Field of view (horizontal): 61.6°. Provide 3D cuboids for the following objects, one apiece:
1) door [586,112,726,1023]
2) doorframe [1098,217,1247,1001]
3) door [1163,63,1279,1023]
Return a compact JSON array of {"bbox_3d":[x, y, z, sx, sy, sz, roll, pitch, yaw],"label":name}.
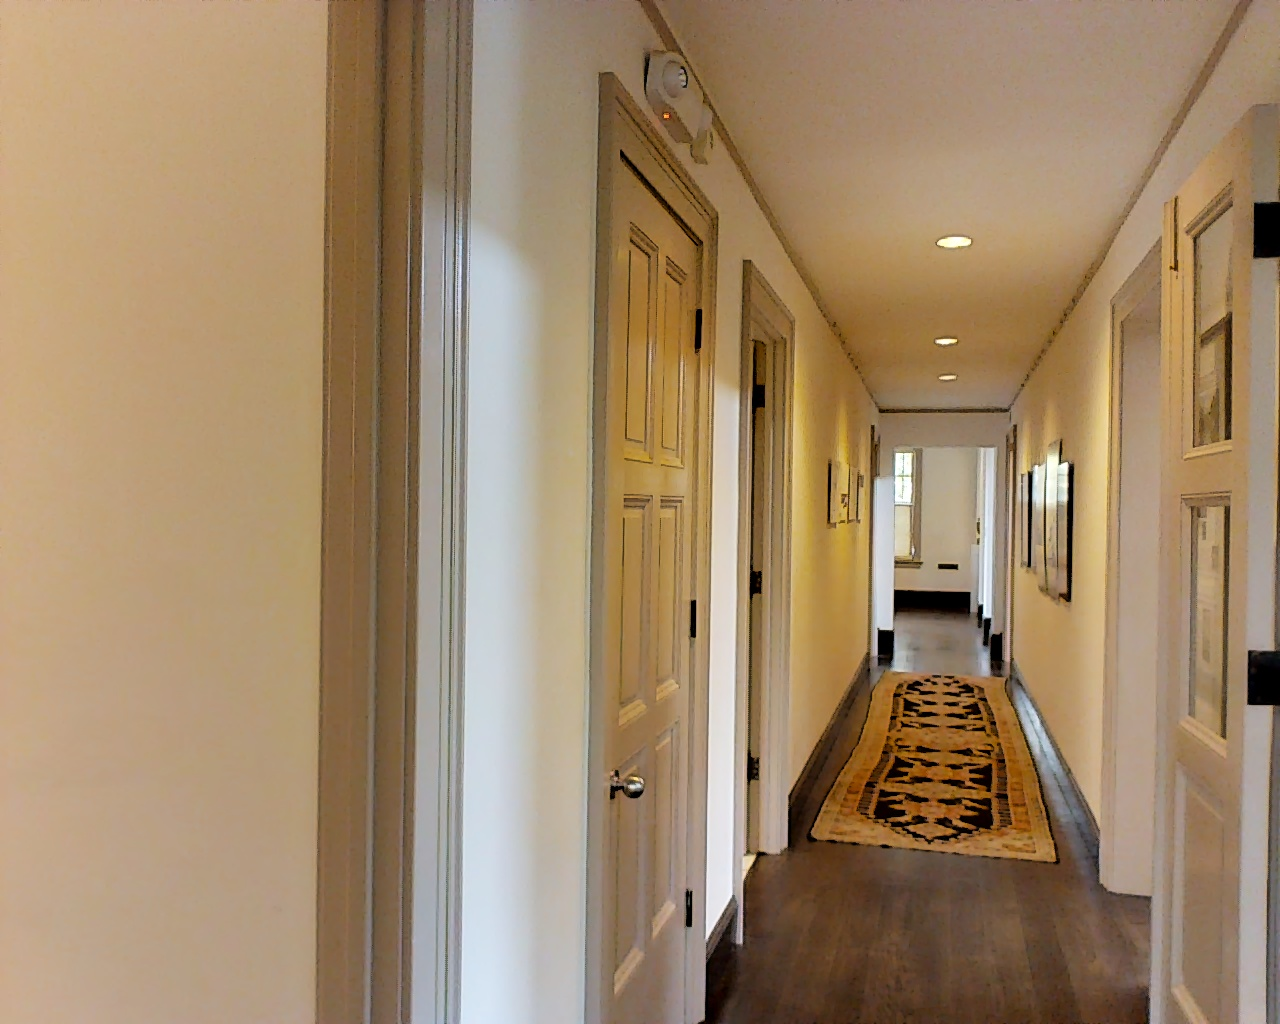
[{"bbox_3d":[0.070,0.330,2.720,0.060,2.300,1.060,1,0,16],"label":"door"},{"bbox_3d":[1.890,0.300,3.890,0.260,2.420,1.130,1,0,16],"label":"doorframe"},{"bbox_3d":[1.250,0.330,2.300,0.100,2.330,0.620,1,0,15],"label":"door"}]
